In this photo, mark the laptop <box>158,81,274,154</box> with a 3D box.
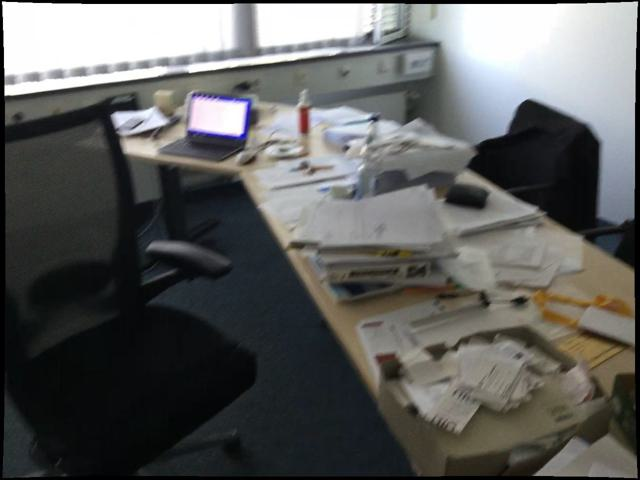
[{"bbox_3d":[-0.430,-0.521,2.420,0.370,0.190,0.270,15,33,28],"label":"laptop"}]
